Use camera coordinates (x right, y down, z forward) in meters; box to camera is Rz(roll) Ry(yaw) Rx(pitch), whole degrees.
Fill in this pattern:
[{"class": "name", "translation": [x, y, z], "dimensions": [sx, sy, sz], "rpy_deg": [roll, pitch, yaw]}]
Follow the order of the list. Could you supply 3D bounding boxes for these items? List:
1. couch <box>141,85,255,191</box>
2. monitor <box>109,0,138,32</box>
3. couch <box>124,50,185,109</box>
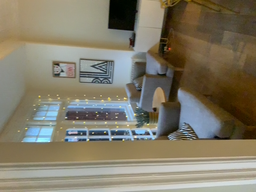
[{"class": "couch", "translation": [0.720, 0.470, 2.500], "dimensions": [0.980, 0.830, 0.890], "rpy_deg": [-116, 30, -66]}, {"class": "monitor", "translation": [-0.070, -1.760, 4.160], "dimensions": [0.050, 0.520, 0.920], "rpy_deg": [-116, 30, -66]}, {"class": "couch", "translation": [0.430, -0.340, 4.090], "dimensions": [0.950, 0.810, 0.840], "rpy_deg": [-115, 29, -65]}]
